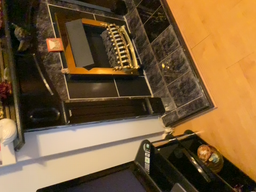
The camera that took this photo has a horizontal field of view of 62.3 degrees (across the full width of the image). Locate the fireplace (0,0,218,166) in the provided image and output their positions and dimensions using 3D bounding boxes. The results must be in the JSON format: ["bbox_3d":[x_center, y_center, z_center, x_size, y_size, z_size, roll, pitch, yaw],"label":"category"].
[{"bbox_3d":[-0.210,-0.400,1.550,0.610,1.190,1.410,-38,63,46],"label":"fireplace"}]
